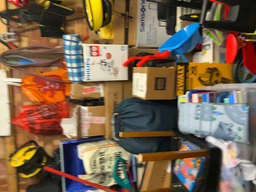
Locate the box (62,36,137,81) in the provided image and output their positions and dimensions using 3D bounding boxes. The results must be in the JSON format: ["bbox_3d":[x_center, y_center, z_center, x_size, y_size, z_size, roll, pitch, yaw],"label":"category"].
[{"bbox_3d":[-0.230,-0.270,1.630,0.390,0.470,0.290,-166,74,-65],"label":"box"}]
